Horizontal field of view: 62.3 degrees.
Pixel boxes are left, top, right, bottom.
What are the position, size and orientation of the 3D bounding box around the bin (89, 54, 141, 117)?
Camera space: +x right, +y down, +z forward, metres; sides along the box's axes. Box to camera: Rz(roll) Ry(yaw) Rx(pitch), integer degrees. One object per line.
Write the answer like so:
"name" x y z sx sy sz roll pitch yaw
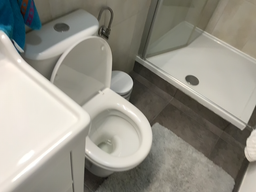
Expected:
"bin" -0.100 -0.070 1.490 0.230 0.290 0.240 36 52 15
